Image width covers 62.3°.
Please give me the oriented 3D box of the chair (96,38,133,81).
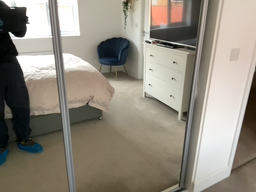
[{"bbox_3d":[-0.340,-0.850,4.870,0.750,0.830,0.730,-2,22,-9],"label":"chair"}]
